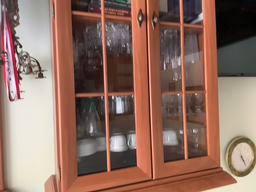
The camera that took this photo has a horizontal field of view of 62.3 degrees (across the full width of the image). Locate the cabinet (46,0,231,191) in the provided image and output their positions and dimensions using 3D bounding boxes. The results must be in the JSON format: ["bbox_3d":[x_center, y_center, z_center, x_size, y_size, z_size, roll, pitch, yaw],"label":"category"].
[{"bbox_3d":[0.020,-0.550,1.040,0.790,1.980,0.420,-1,-179,-21],"label":"cabinet"}]
